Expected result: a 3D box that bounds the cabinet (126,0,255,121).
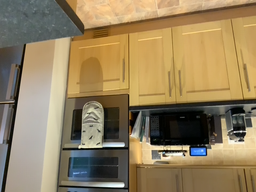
[{"bbox_3d":[0.700,-0.280,2.060,1.310,0.900,0.640,-4,164,14],"label":"cabinet"}]
